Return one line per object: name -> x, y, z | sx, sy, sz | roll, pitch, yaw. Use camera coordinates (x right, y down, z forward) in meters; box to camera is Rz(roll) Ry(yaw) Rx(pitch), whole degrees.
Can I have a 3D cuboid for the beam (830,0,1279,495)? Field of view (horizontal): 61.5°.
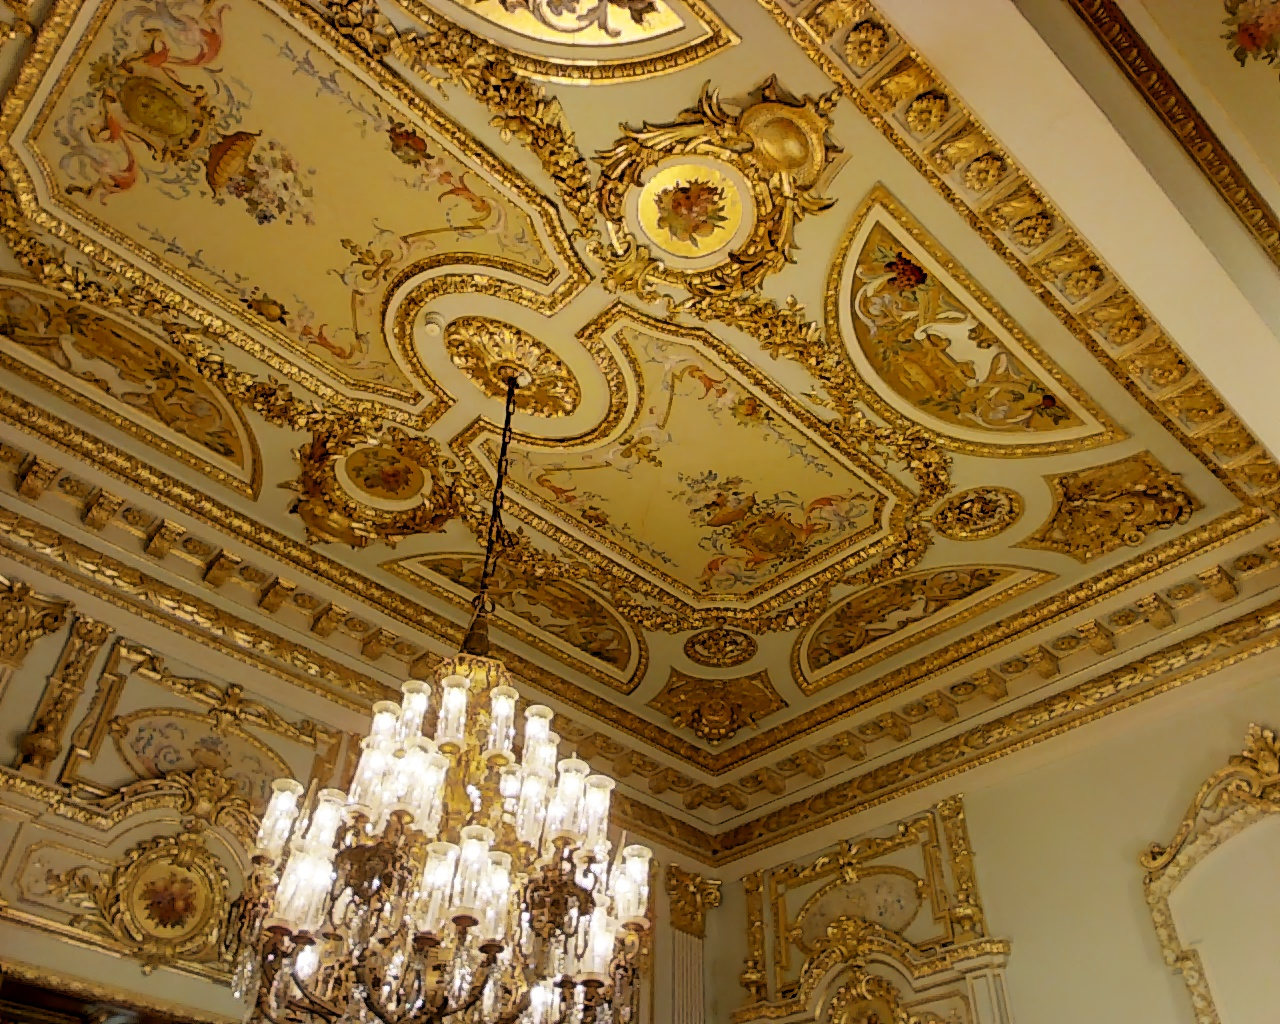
beam -> 1.319, -1.601, 3.780 | 7.128, 0.350, 0.570 | 33, -49, -30
